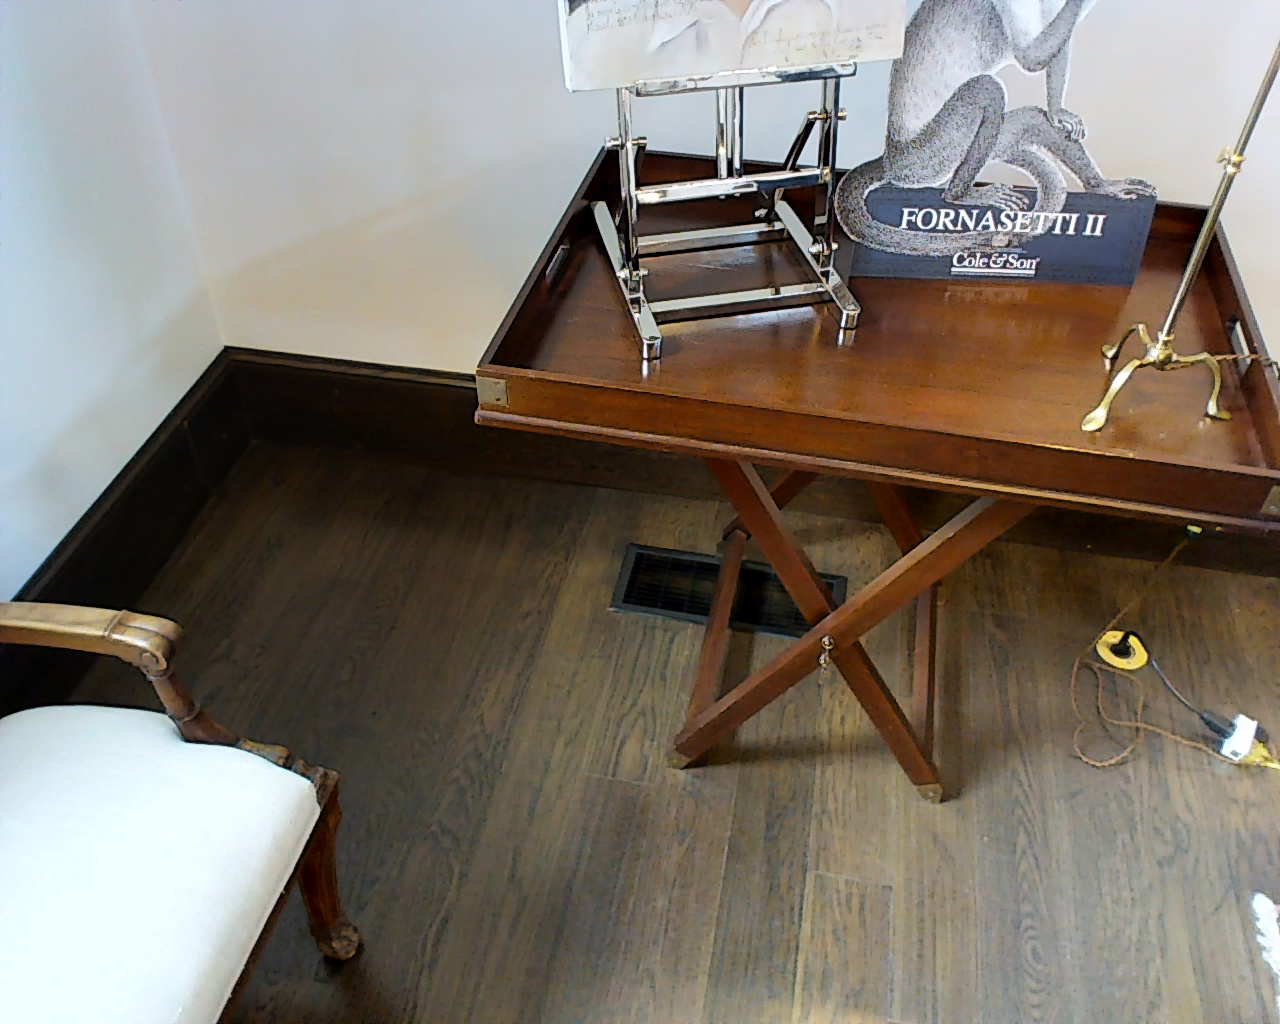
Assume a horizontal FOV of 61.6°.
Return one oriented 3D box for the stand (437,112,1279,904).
[{"bbox_3d":[0.330,-0.030,1.680,0.990,0.820,0.730,9,43,9],"label":"stand"}]
